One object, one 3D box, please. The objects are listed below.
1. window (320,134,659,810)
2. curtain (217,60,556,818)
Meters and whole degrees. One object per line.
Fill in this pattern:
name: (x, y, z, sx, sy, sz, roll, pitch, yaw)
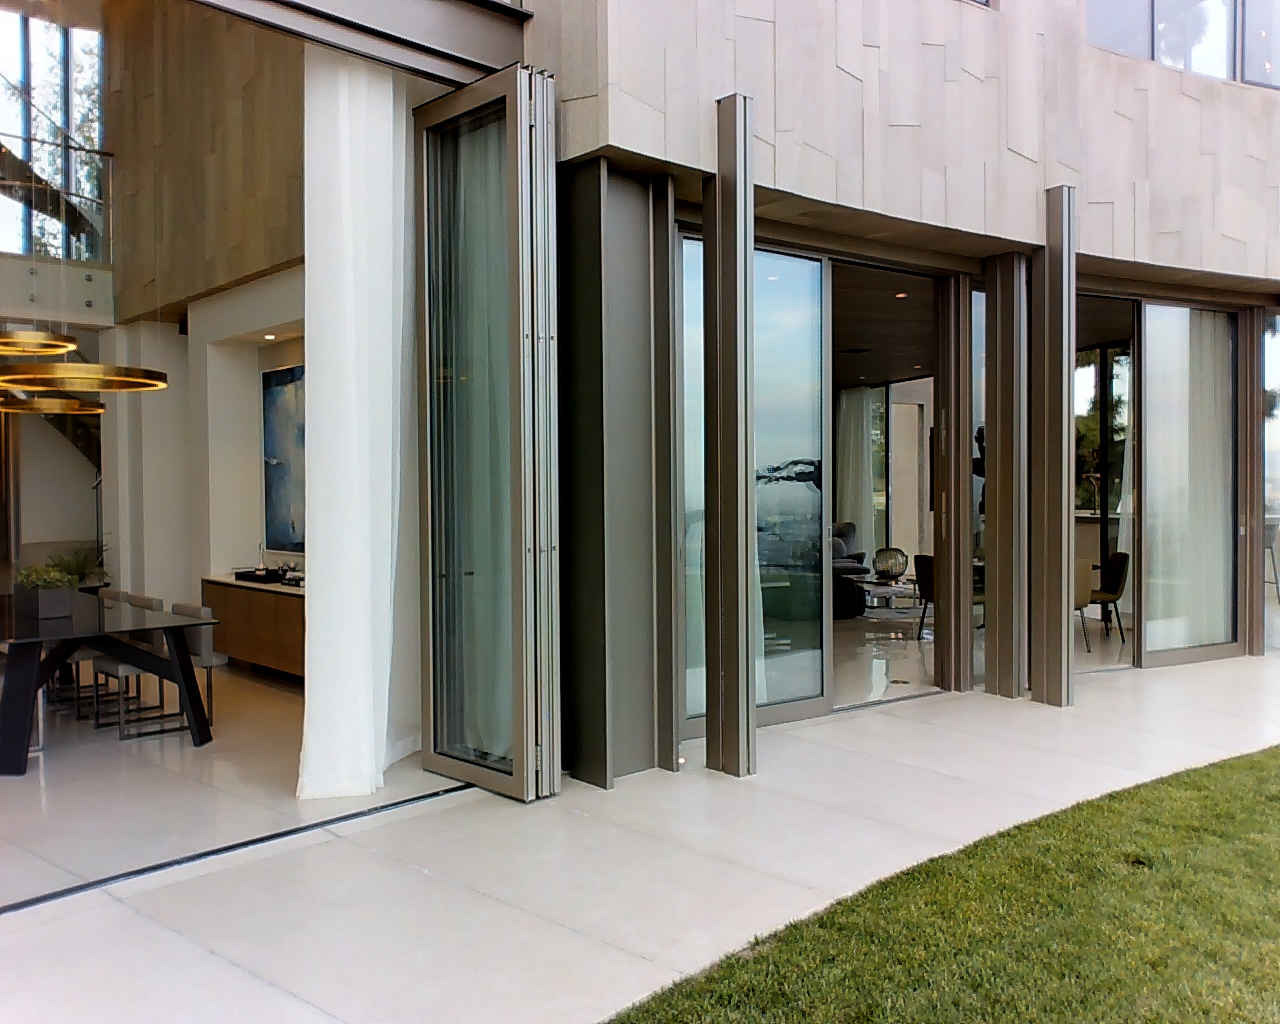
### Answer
window: (-1.010, -0.190, 6.160, 0.420, 3.090, 2.880, -1, 1, -40)
curtain: (-1.370, -0.340, 5.810, 1.310, 3.461, 1.240, -1, 1, -41)
